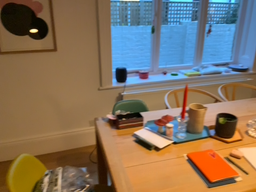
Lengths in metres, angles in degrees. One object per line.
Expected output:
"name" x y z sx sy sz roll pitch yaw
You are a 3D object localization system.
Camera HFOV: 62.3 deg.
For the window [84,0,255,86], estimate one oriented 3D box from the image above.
"window" 0.610 -1.040 2.750 2.260 1.560 0.540 -5 21 -14
